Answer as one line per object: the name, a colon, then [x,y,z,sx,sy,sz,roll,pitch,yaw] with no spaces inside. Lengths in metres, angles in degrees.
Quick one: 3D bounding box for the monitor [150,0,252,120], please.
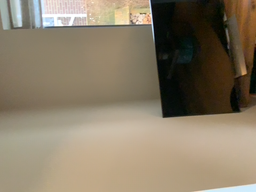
monitor: [0.570,-0.390,1.750,0.060,0.670,1.120,117,149,-74]
